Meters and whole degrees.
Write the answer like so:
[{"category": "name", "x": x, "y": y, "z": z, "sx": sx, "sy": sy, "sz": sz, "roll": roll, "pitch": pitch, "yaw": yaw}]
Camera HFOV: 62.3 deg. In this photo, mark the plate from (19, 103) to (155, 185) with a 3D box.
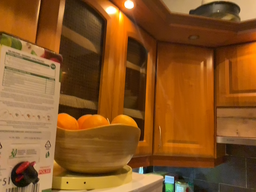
[{"category": "plate", "x": -0.110, "y": 0.120, "z": 0.600, "sx": 0.290, "sy": 0.160, "sz": 0.230, "roll": -3, "pitch": -11, "yaw": 36}]
